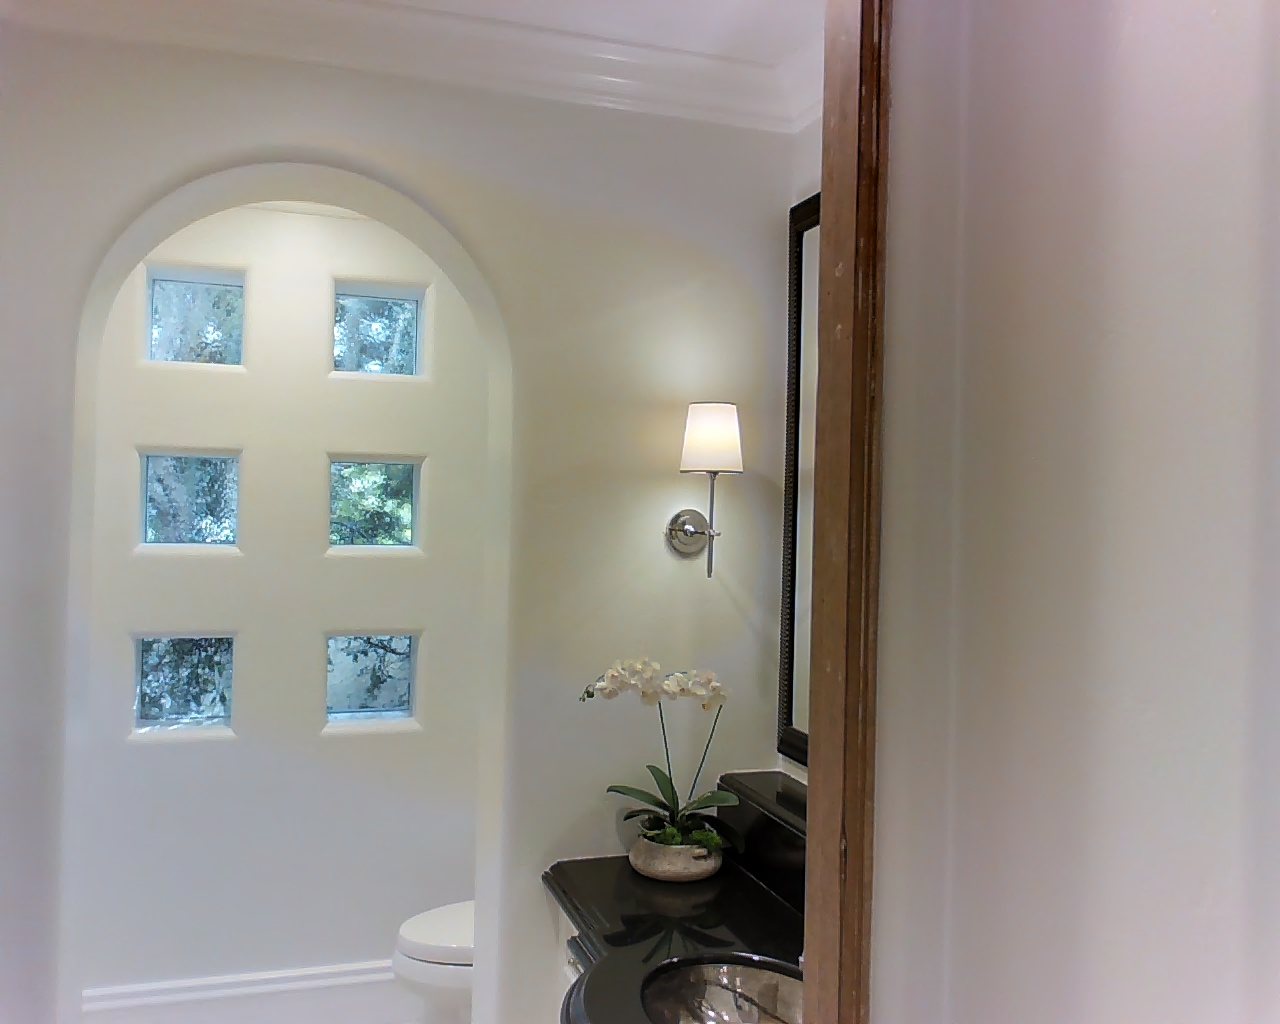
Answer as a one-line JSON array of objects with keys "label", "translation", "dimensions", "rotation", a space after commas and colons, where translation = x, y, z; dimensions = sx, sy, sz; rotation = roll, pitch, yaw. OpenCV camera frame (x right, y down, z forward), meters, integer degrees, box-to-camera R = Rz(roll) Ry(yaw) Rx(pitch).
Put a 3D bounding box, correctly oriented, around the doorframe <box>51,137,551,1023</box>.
[{"label": "doorframe", "translation": [-0.780, 0.400, 2.560], "dimensions": [1.020, 2.361, 0.290], "rotation": [2, 0, -18]}]
